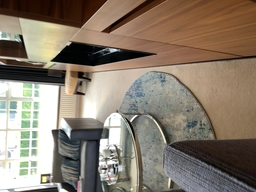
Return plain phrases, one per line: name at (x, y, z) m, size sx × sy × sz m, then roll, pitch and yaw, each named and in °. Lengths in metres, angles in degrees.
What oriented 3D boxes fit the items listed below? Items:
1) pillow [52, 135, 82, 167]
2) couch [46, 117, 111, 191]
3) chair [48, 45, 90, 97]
pillow at (-0.980, 0.870, 3.410) m, size 0.450 × 0.120 × 0.410 m, roll 6°, pitch 92°, yaw 21°
couch at (-0.870, 1.050, 3.470) m, size 1.090 × 0.760 × 1.240 m, roll -172°, pitch 85°, yaw -65°
chair at (-1.320, -0.510, 4.730) m, size 0.670 × 0.800 × 0.920 m, roll 157°, pitch 113°, yaw -62°
